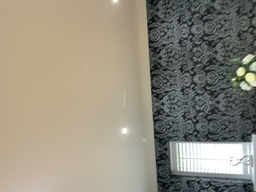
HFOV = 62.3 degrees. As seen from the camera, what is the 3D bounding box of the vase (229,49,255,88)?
[{"bbox_3d":[1.510,-0.310,2.450,0.320,0.560,0.410,-6,-86,-73],"label":"vase"}]
